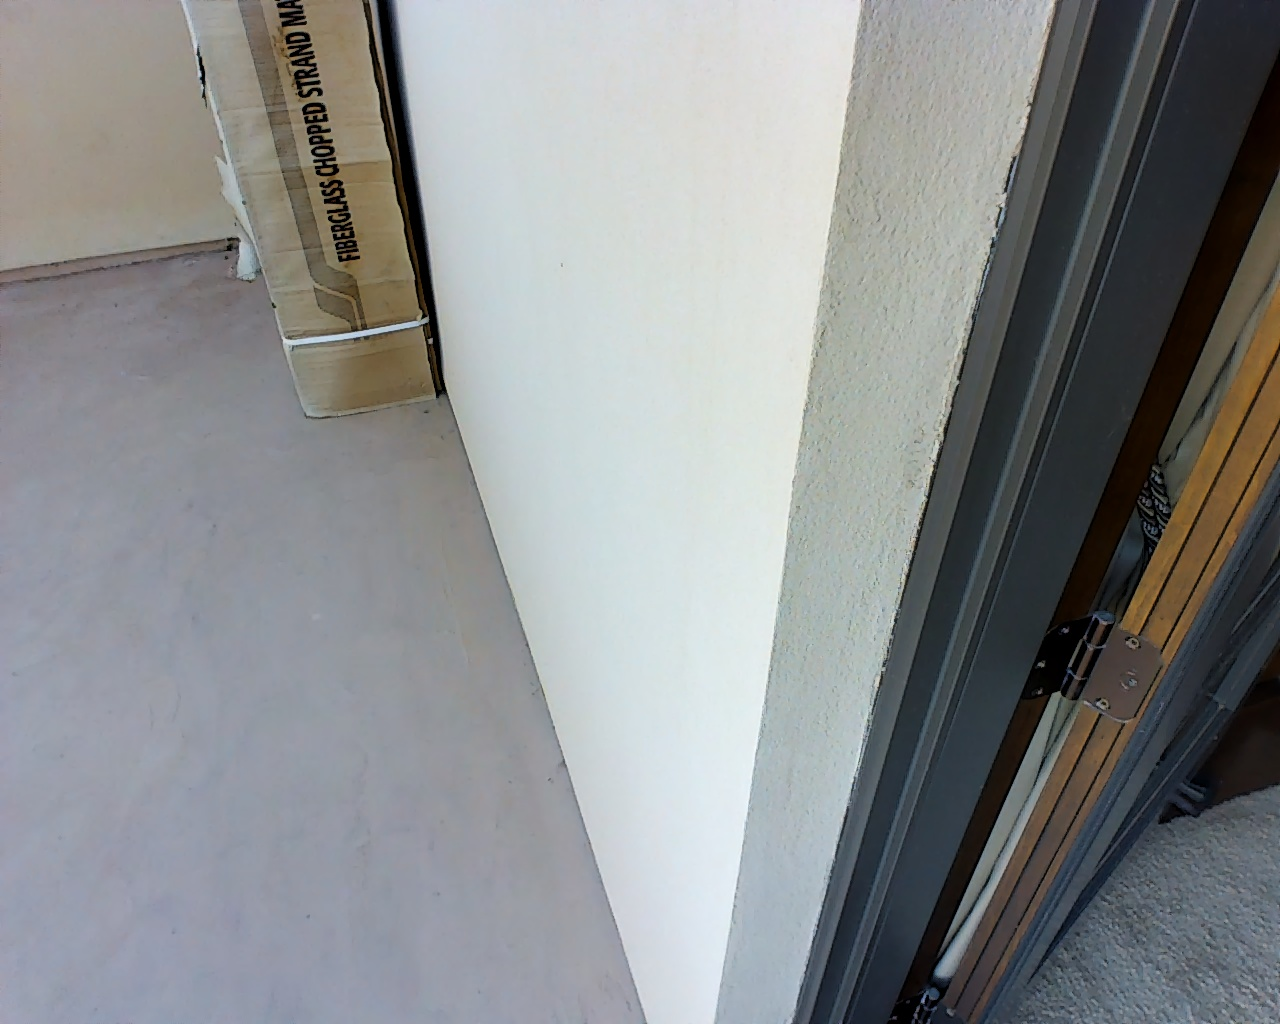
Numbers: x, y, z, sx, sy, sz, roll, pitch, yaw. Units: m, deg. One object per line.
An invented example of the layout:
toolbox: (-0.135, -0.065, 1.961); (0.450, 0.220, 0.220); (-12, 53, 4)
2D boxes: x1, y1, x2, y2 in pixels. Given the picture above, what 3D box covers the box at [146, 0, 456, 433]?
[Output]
box: (-0.730, -0.850, 2.350); (0.440, 1.240, 0.500); (-10, 43, -12)
